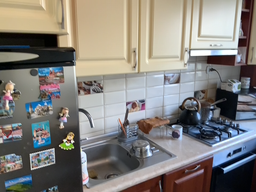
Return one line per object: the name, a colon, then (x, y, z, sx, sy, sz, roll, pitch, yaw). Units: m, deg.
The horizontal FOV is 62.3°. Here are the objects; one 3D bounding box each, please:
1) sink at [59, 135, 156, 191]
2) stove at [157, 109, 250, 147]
sink: (-0.160, 0.500, 1.430, 0.440, 0.210, 0.550, -8, 15, -31)
stove: (0.670, 0.260, 1.930, 0.580, 0.060, 0.560, -8, 15, -31)
